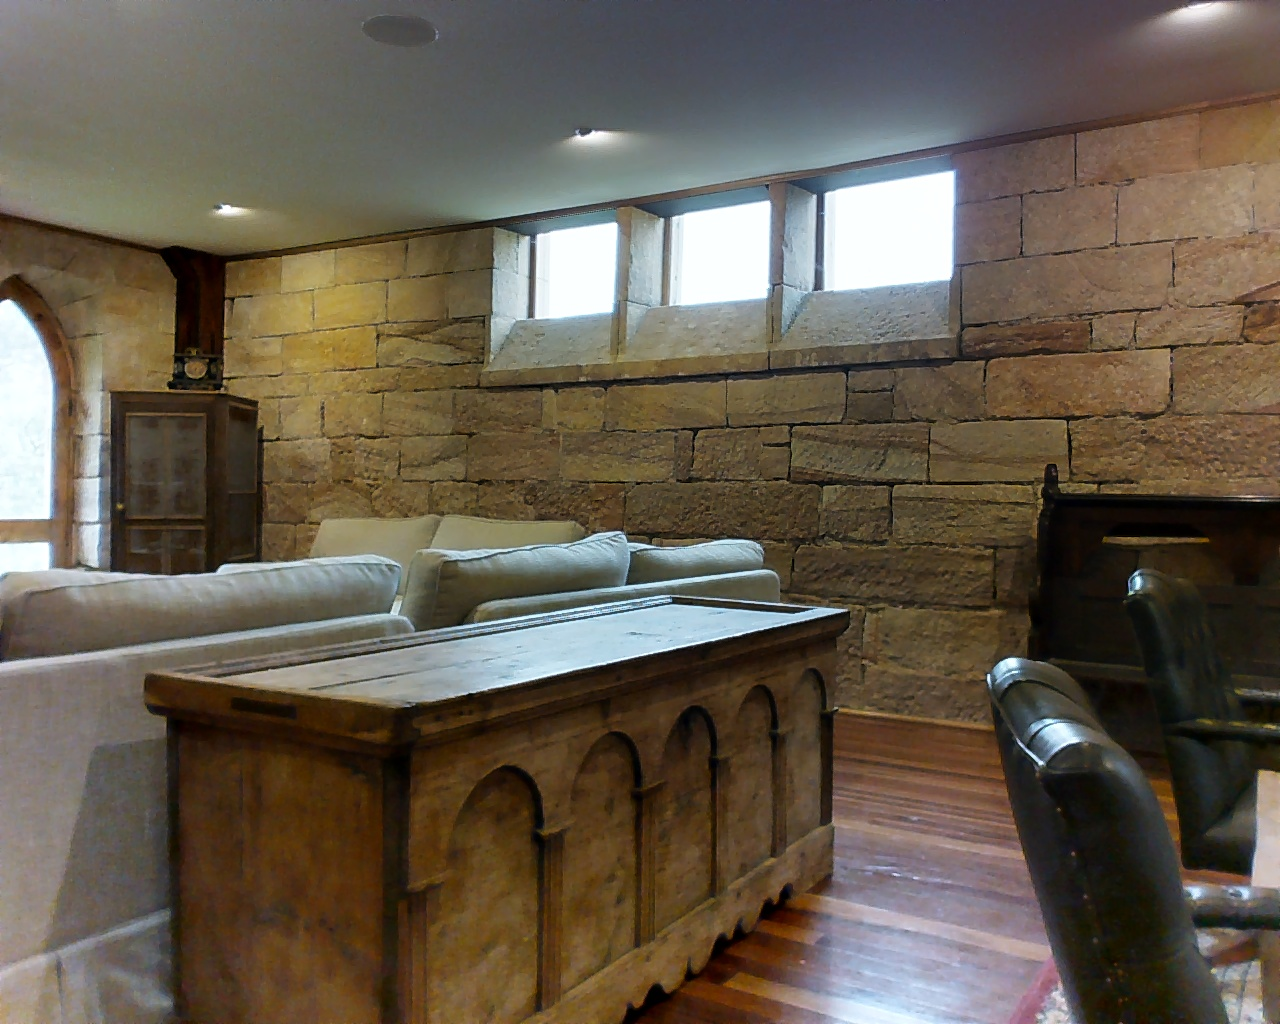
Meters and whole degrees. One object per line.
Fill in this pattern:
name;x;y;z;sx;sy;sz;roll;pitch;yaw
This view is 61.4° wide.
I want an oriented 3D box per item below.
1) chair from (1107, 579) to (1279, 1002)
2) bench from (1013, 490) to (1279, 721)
chair;1.619;0.640;2.650;0.690;0.890;0.660;1;0;41
bench;3.049;0.360;4.010;3.079;0.870;0.610;1;0;35
